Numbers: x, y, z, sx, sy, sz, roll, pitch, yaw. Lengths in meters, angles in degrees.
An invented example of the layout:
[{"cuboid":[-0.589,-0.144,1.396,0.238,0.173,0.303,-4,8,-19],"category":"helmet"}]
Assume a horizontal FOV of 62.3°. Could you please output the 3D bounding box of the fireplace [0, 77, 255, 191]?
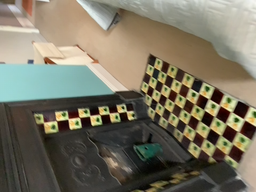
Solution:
[{"cuboid":[-0.230,0.310,1.140,1.200,1.310,0.370,41,126,46],"category":"fireplace"}]
